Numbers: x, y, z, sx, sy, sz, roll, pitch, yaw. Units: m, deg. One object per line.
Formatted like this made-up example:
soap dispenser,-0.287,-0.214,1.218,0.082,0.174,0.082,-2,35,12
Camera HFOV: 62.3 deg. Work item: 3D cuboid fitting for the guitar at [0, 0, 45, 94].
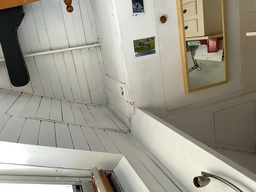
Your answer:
guitar,-1.040,-0.420,1.870,0.400,0.700,0.290,-15,-164,-16
